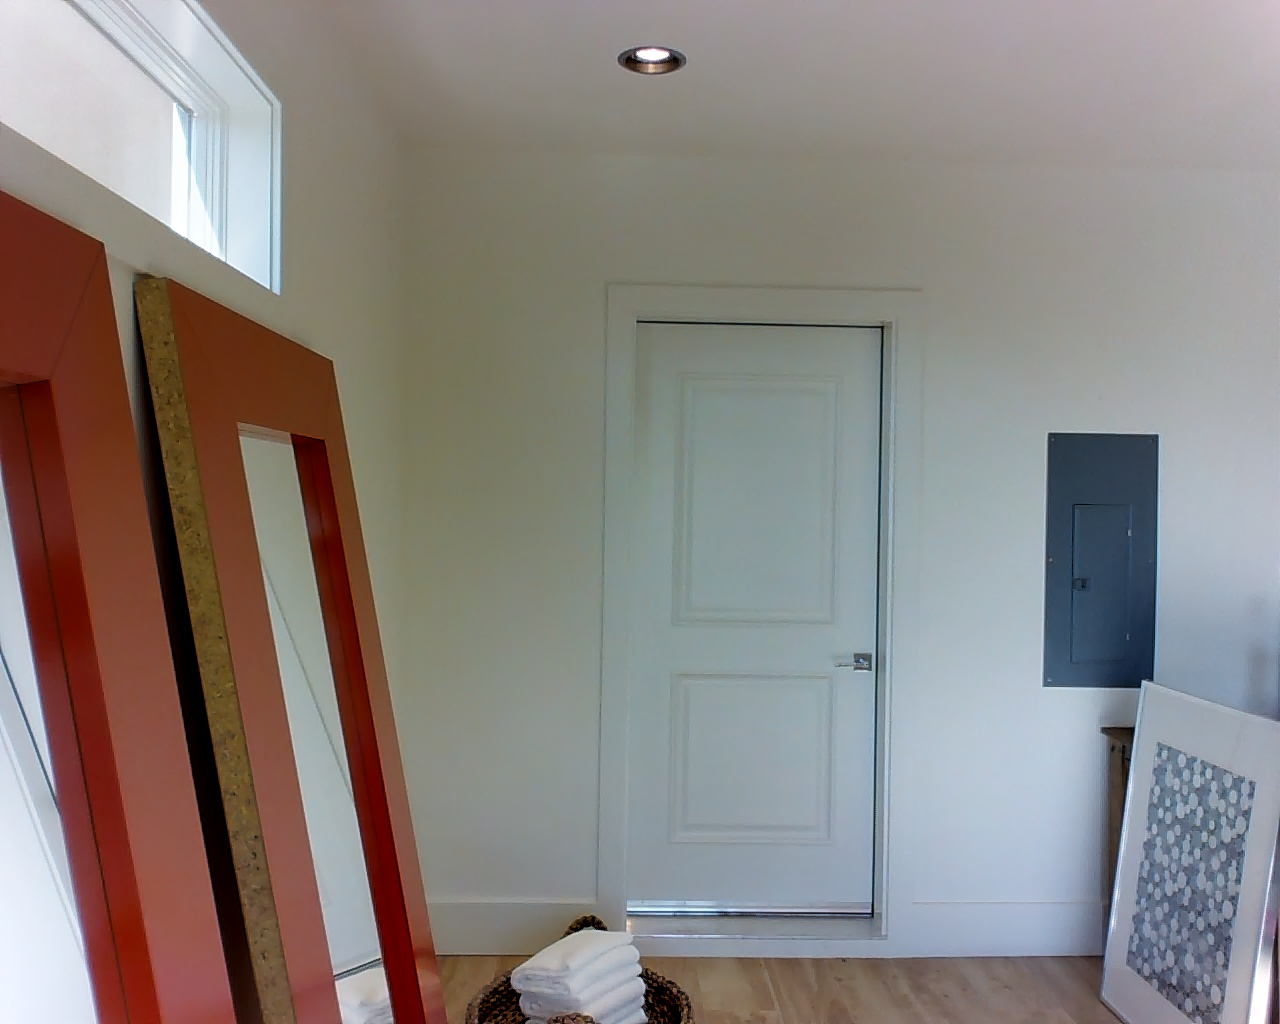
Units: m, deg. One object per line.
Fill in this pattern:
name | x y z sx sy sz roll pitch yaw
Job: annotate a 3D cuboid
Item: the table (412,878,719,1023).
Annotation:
table | -0.160 1.380 3.160 0.770 0.250 0.930 1 1 5
